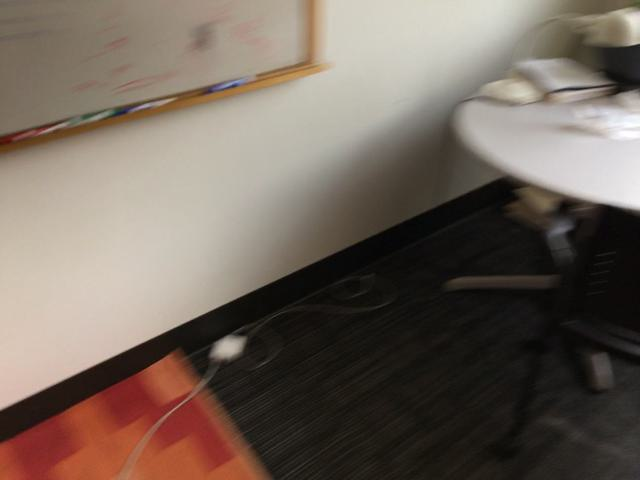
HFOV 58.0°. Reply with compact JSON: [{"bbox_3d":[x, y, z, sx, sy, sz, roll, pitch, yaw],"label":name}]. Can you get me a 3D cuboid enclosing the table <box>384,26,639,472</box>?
[{"bbox_3d":[0.990,-0.120,1.960,1.140,0.800,1.000,-25,39,-29],"label":"table"}]
